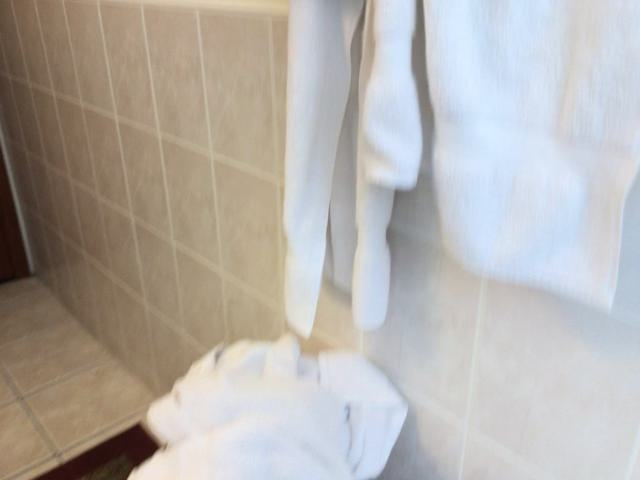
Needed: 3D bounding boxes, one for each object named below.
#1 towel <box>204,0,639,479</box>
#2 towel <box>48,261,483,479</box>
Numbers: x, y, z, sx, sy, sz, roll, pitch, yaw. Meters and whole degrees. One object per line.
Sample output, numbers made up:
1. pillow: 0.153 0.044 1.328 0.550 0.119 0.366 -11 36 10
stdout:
1. towel: 0.090 -0.240 0.540 0.170 0.880 0.470 -21 32 -38
2. towel: -0.070 0.300 0.800 0.400 0.330 0.380 -21 32 -38
